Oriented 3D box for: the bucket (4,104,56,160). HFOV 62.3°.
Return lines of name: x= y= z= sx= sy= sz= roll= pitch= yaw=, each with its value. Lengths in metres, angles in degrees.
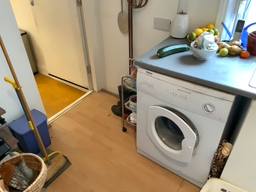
bucket: x=-0.820 y=0.300 z=1.810 sx=0.220 sy=0.340 sz=0.250 roll=21 pitch=42 yaw=28
